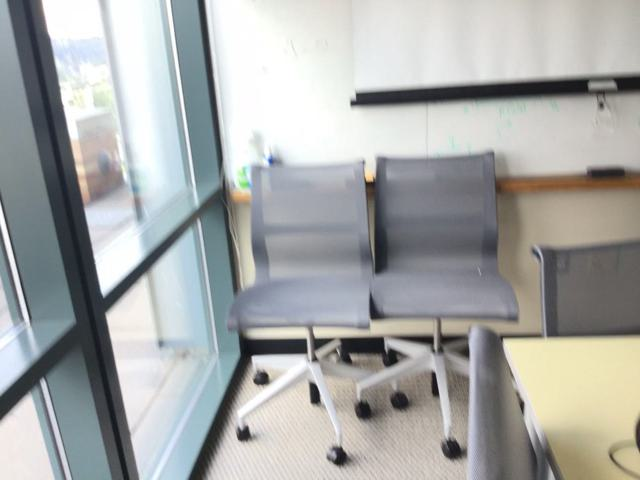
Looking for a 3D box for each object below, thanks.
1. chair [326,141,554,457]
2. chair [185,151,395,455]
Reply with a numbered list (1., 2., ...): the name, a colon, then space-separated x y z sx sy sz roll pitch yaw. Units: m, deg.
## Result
1. chair: 0.450 0.180 2.120 0.660 0.950 0.590 -1 18 14
2. chair: -0.040 0.200 2.210 0.580 0.930 0.690 -3 18 10
